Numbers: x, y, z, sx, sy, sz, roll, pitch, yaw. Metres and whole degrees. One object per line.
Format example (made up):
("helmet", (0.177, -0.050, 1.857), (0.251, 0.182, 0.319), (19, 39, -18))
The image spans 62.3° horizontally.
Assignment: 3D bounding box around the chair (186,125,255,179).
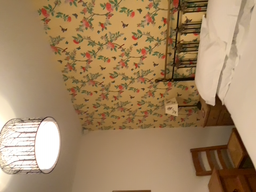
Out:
("chair", (1.280, 0.720, 2.720), (0.450, 0.900, 0.480), (-90, -3, -48))
